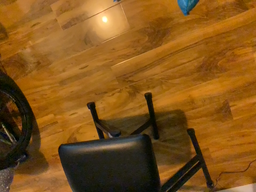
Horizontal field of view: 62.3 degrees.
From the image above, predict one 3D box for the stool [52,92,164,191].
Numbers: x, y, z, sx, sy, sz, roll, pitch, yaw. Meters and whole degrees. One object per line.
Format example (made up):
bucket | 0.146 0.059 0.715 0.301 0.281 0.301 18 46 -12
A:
stool | -0.050 0.250 1.110 0.410 0.480 0.330 -10 110 11
